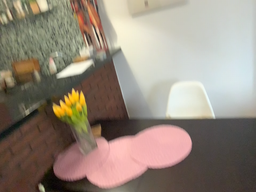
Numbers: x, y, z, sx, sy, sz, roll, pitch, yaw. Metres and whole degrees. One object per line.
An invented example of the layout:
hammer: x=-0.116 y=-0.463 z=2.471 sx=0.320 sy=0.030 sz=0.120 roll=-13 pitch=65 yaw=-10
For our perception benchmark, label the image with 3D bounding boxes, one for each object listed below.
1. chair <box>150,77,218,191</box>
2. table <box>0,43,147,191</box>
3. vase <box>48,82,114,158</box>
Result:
chair: x=0.520 y=0.320 z=1.800 sx=0.420 sy=0.800 sz=0.490 roll=-3 pitch=26 yaw=24
table: x=-0.510 y=0.470 z=1.590 sx=0.560 sy=1.150 sz=2.070 roll=-3 pitch=26 yaw=24
vase: x=-0.290 y=0.150 z=1.390 sx=0.290 sy=0.380 sz=0.140 roll=-31 pitch=29 yaw=-33
